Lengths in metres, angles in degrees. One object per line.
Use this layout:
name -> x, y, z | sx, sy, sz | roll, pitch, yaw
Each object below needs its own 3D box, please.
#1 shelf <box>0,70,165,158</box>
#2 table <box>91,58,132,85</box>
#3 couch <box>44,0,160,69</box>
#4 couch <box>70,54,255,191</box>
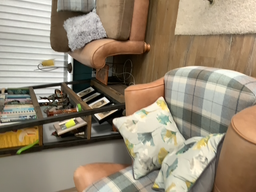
shelf -> -0.790, 0.050, 2.190 | 1.270, 1.900, 0.430 | 28, 116, 57
table -> -0.220, -0.320, 2.700 | 0.430, 0.360, 0.260 | 32, 120, 56
couch -> -0.320, -1.460, 2.230 | 1.120, 0.910, 2.200 | 25, 114, 58
couch -> 0.300, 0.280, 1.170 | 0.980, 0.980, 0.920 | 22, 112, 58
